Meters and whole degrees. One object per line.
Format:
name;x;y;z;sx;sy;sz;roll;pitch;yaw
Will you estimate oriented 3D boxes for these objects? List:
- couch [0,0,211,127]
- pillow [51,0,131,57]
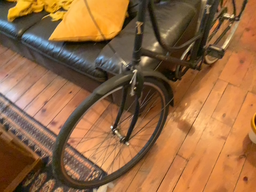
couch;-0.590;-0.810;1.760;2.240;0.760;0.960;27;64;21
pillow;-0.220;-0.510;1.460;0.460;0.190;0.440;-1;57;5
